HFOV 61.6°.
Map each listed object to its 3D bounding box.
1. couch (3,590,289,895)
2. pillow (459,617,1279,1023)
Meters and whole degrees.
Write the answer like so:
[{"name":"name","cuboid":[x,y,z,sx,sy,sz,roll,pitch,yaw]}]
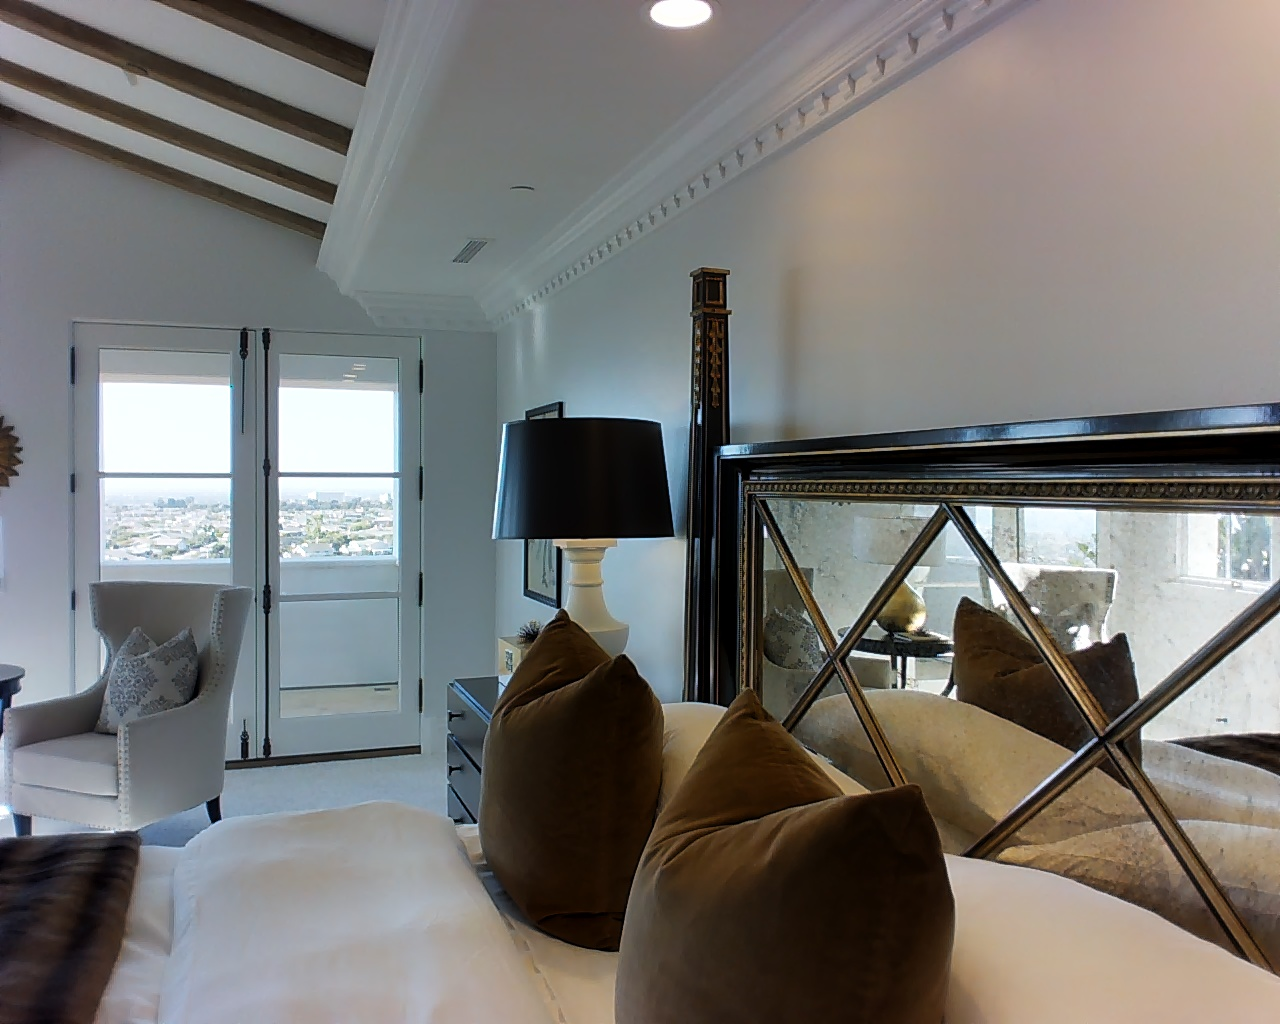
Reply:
[{"name":"couch","cuboid":[-2.189,0.960,4.830,0.790,1.130,0.860,0,1,22]},{"name":"pillow","cuboid":[0.180,0.540,1.820,0.700,0.520,1.760,0,1,-18]}]
